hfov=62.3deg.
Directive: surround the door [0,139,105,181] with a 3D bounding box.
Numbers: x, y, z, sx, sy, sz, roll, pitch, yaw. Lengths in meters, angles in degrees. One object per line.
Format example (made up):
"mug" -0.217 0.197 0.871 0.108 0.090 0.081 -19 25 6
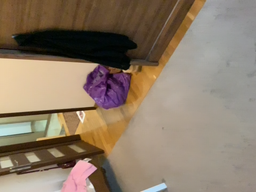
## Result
"door" -1.470 0.870 2.820 0.860 2.170 0.090 2 94 54
